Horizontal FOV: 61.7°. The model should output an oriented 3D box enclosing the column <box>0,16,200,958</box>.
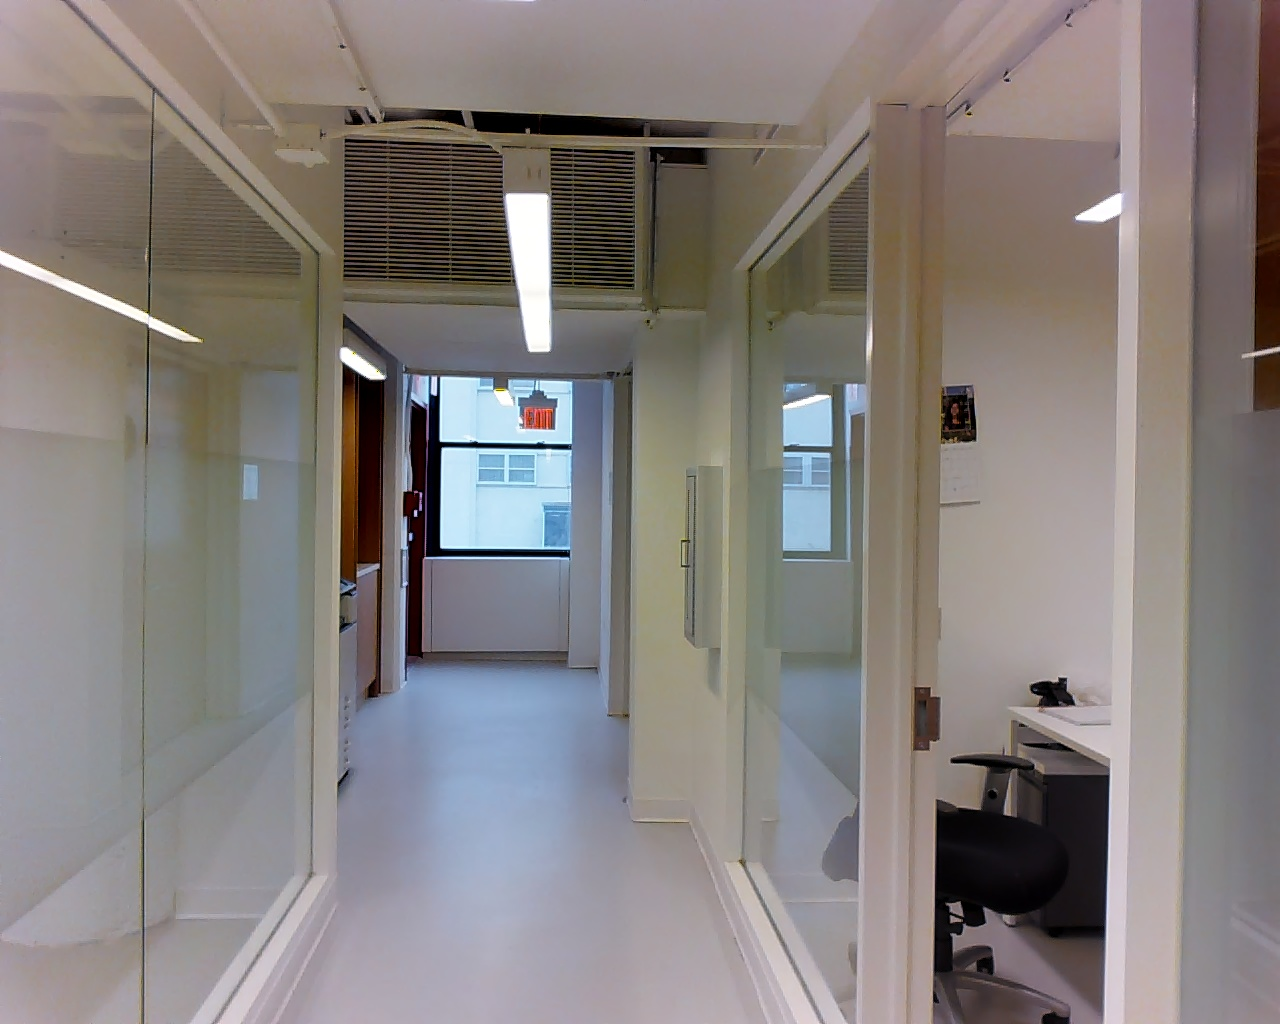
[{"bbox_3d":[-1.860,-0.070,3.460,0.710,2.891,0.320,1,1,-5],"label":"column"}]
